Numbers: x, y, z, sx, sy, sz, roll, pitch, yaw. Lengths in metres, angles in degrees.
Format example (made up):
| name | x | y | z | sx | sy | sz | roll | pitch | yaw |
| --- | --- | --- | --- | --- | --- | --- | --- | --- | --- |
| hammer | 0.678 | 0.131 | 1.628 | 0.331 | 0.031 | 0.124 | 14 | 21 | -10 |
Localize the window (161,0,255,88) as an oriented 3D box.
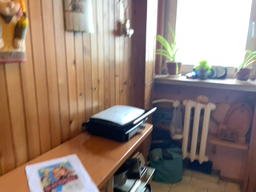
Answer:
| name | x | y | z | sx | sy | sz | roll | pitch | yaw |
| --- | --- | --- | --- | --- | --- | --- | --- | --- | --- |
| window | 0.730 | -0.730 | 1.880 | 0.820 | 1.230 | 0.110 | 8 | 16 | 28 |
